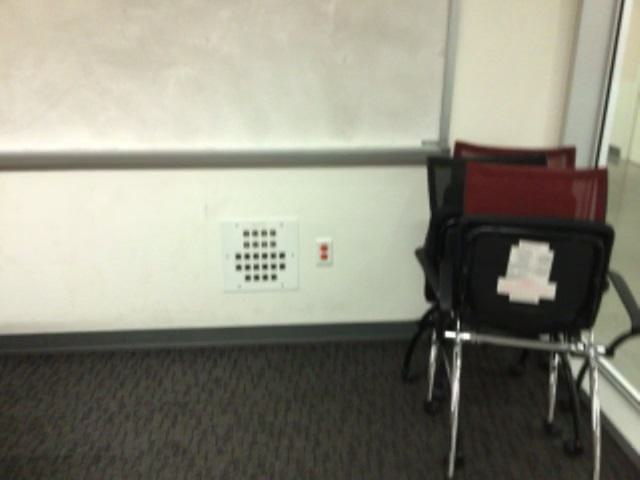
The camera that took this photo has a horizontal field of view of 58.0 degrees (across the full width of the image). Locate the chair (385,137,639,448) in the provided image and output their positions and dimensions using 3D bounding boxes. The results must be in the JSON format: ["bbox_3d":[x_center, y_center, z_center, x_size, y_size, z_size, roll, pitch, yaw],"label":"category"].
[{"bbox_3d":[0.670,0.120,2.100,0.730,0.840,0.820,2,18,0],"label":"chair"}]

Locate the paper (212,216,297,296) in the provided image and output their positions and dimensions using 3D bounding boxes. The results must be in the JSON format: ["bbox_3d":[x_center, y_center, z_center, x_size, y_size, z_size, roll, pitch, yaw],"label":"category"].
[{"bbox_3d":[-0.280,0.070,2.480,0.350,0.340,0.060,0,18,-8],"label":"paper"}]

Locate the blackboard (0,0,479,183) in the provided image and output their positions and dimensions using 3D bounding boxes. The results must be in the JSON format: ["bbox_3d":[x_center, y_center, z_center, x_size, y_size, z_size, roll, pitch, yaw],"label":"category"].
[{"bbox_3d":[-1.260,-0.600,2.090,3.660,0.720,0.260,0,18,-8],"label":"blackboard"}]
